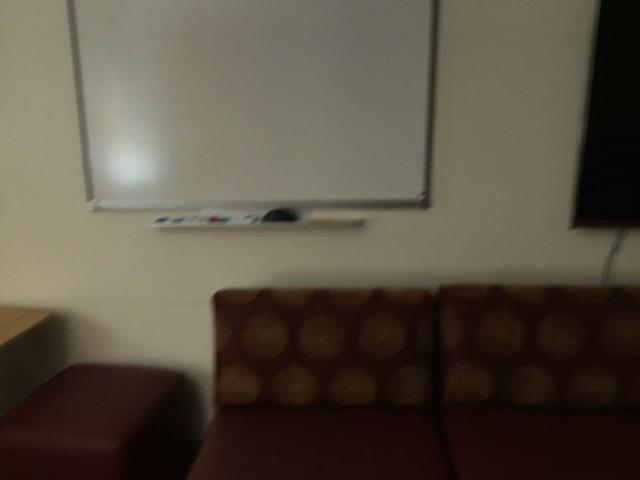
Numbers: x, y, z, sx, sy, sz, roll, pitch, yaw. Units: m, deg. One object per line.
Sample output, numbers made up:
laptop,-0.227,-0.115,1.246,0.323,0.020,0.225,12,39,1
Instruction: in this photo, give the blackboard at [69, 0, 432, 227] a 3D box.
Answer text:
blackboard,-0.230,-0.500,1.900,1.170,0.910,0.060,0,11,8
